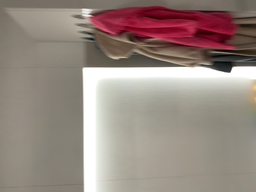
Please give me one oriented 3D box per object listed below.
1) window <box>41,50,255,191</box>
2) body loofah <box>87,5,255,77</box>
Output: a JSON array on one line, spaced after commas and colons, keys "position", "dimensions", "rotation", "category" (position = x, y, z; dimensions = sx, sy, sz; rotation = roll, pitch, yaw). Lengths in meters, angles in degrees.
[{"position": [0.410, 0.590, 1.530], "dimensions": [0.140, 1.970, 1.820], "rotation": [134, 135, -84], "category": "window"}, {"position": [0.210, -0.290, 1.290], "dimensions": [0.510, 0.850, 0.230], "rotation": [117, 152, -80], "category": "body loofah"}]
